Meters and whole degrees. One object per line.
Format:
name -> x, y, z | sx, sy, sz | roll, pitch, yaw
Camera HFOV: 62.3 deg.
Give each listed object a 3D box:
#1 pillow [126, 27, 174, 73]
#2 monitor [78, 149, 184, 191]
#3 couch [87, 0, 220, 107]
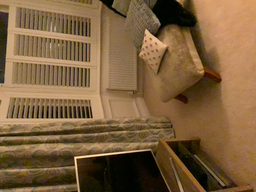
pillow -> 0.190, -0.400, 1.900 | 0.120, 0.380, 0.330 | 60, 177, 11
monitor -> 0.100, 0.720, 1.230 | 1.050, 0.650, 0.060 | -121, 39, -55
couch -> 0.120, -0.680, 2.040 | 0.640, 0.870, 1.420 | 131, 136, -59
